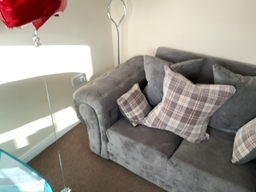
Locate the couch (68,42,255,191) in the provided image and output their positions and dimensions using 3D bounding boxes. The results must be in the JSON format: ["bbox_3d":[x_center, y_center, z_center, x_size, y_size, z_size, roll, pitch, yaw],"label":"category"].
[{"bbox_3d":[0.520,0.200,1.650,1.660,0.740,0.930,19,37,29],"label":"couch"}]
